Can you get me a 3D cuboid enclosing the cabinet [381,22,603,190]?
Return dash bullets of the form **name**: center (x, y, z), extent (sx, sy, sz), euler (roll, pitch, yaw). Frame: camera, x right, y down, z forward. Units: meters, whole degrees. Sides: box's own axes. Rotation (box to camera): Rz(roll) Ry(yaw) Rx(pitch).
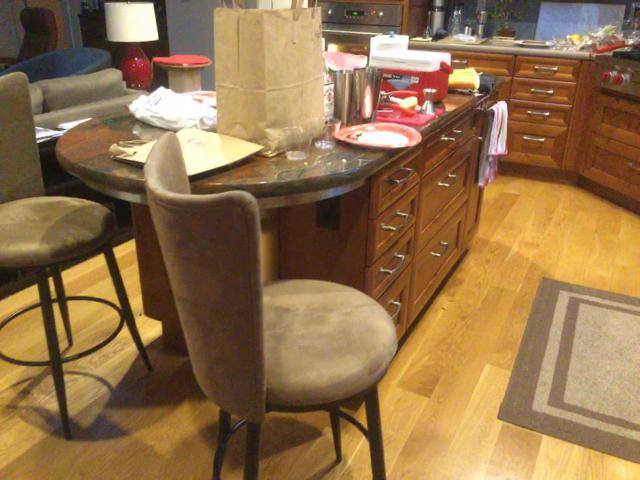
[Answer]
- **cabinet**: center (1.080, -0.930, 3.900), extent (1.320, 0.940, 0.190), euler (14, 28, 27)
